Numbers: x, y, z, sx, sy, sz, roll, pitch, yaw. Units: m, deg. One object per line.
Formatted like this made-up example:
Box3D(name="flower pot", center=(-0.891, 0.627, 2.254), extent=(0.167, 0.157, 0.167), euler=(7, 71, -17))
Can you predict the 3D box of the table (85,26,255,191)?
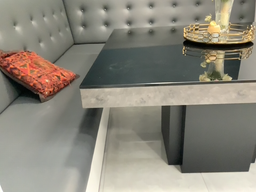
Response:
Box3D(name="table", center=(0.530, 0.020, 1.480), extent=(1.340, 0.730, 1.440), euler=(-3, 25, 0))
